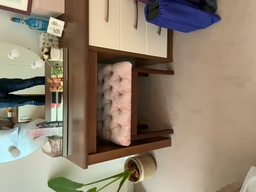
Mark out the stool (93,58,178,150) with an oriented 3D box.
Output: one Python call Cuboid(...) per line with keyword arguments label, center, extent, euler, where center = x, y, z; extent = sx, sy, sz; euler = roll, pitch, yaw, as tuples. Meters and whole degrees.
Cuboid(label="stool", center=(0.060, 0.040, 1.670), extent=(0.370, 0.540, 0.590), euler=(6, 96, 50))
